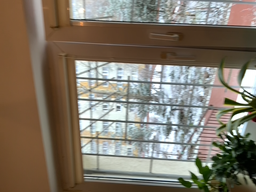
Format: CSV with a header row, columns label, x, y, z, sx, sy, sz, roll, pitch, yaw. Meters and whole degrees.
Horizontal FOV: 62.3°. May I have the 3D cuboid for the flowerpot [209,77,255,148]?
label,x,y,z,sx,sy,sz,roll,pitch,yaw
flowerpot,0.590,0.070,0.960,0.230,0.330,0.230,-87,0,-66
